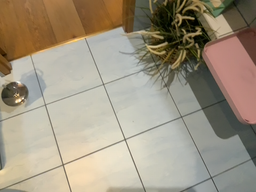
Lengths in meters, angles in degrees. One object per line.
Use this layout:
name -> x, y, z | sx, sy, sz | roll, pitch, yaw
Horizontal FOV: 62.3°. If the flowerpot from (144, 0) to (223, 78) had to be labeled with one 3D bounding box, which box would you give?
flowerpot -> 0.260, -0.330, 1.130 | 0.200, 0.360, 0.310 | -19, 74, -9
